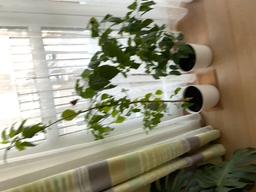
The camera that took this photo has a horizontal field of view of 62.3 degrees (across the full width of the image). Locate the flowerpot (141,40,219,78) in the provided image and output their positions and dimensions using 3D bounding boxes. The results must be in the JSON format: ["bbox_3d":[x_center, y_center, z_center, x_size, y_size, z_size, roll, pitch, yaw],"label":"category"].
[{"bbox_3d":[0.370,-0.260,1.470,0.200,0.510,0.210,-1,97,59],"label":"flowerpot"}]

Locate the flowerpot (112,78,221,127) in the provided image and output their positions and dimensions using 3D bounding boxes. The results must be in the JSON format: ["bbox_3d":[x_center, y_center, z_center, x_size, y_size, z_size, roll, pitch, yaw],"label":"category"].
[{"bbox_3d":[0.290,0.020,1.440,0.210,0.760,0.200,-2,96,59],"label":"flowerpot"}]
